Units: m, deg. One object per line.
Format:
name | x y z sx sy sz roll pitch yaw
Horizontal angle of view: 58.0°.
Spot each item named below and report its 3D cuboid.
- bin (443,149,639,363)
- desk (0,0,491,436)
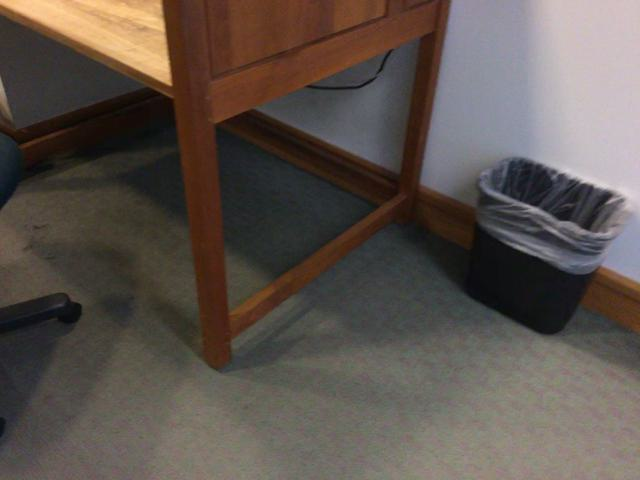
bin | 0.610 0.030 1.610 0.270 0.400 0.390 -28 43 -36
desk | -0.410 -0.650 1.610 1.390 1.510 1.030 26 41 33
